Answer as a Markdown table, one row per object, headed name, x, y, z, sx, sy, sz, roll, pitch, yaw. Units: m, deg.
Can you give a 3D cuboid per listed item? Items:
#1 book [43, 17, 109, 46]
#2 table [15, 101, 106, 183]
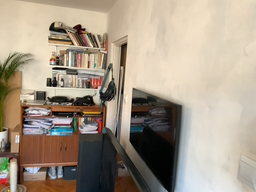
| name | x | y | z | sx | sy | sz | roll | pitch | yaw |
| --- | --- | --- | --- | --- | --- | --- | --- | --- | --- |
| book | -0.740 | -0.910 | 3.050 | 0.880 | 0.270 | 0.210 | 3 | 8 | -17 |
| table | -0.970 | 0.640 | 3.120 | 1.160 | 1.040 | 0.410 | 3 | 8 | -17 |
